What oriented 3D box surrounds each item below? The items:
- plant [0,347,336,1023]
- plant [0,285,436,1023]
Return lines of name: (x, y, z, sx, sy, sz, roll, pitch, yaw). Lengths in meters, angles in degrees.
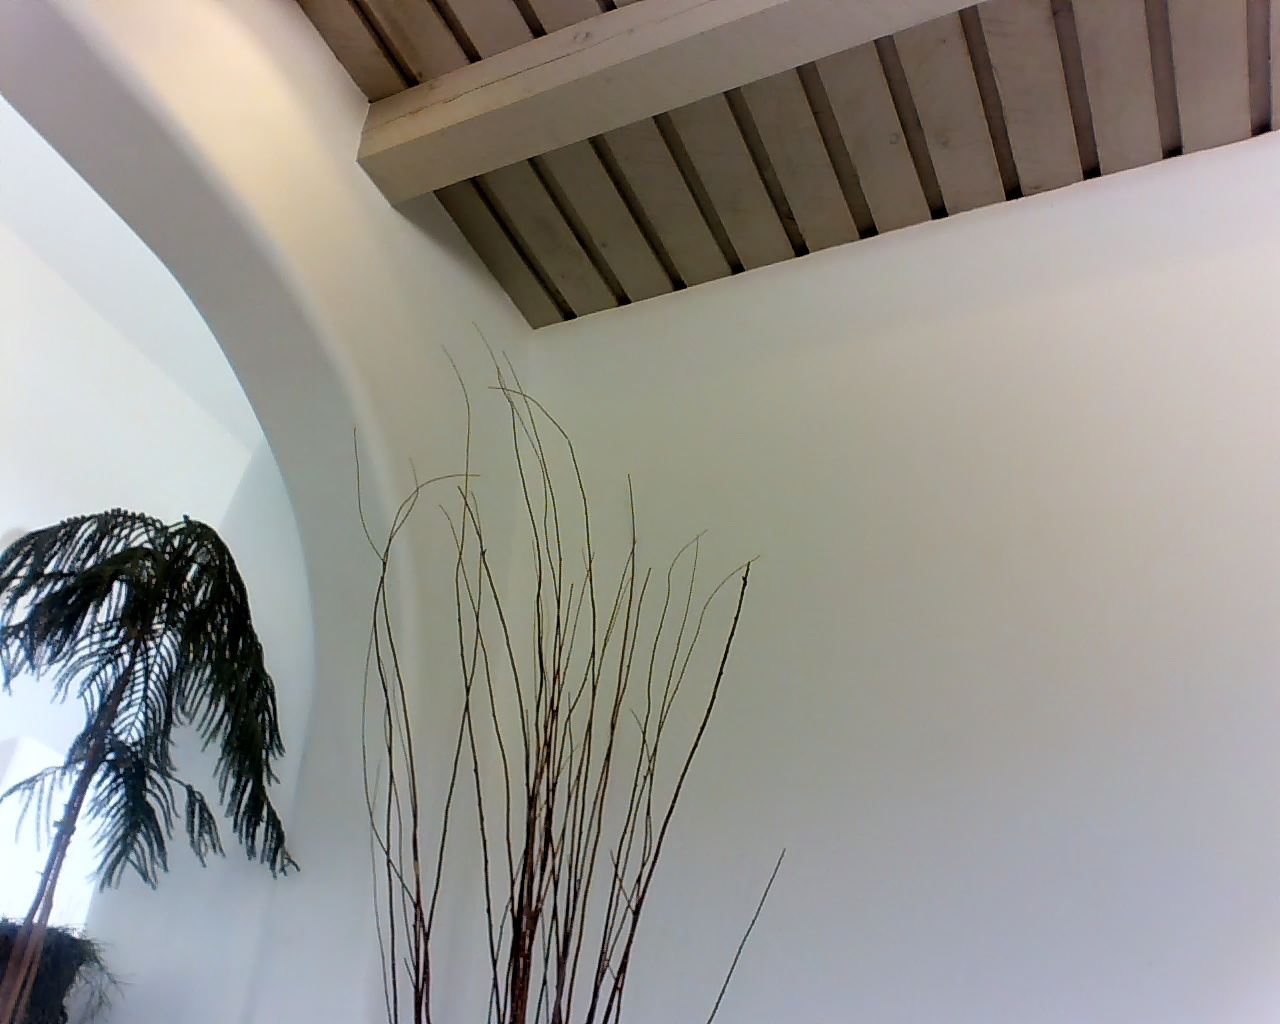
plant: (-1.180, 0.530, 1.870, 0.630, 1.260, 0.860, -20, -45, 21)
plant: (-1.080, 0.510, 1.810, 0.940, 1.260, 0.920, -18, -44, 20)
